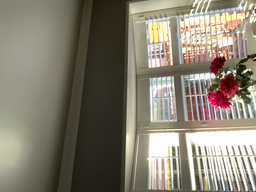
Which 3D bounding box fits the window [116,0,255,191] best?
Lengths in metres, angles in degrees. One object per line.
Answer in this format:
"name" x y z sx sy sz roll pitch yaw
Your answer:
"window" 0.660 -0.150 1.980 0.470 1.400 2.110 60 -152 -64
